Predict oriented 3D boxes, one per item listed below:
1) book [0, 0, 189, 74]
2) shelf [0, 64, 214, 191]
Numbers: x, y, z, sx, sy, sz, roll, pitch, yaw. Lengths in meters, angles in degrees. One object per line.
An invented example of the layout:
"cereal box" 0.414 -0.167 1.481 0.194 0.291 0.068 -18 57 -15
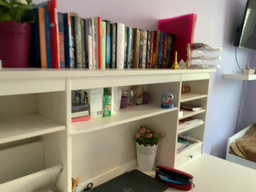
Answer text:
"book" -0.090 -0.250 1.000 0.260 0.250 1.000 11 13 43
"shelf" -0.040 0.160 1.090 0.290 0.620 1.520 11 13 43
